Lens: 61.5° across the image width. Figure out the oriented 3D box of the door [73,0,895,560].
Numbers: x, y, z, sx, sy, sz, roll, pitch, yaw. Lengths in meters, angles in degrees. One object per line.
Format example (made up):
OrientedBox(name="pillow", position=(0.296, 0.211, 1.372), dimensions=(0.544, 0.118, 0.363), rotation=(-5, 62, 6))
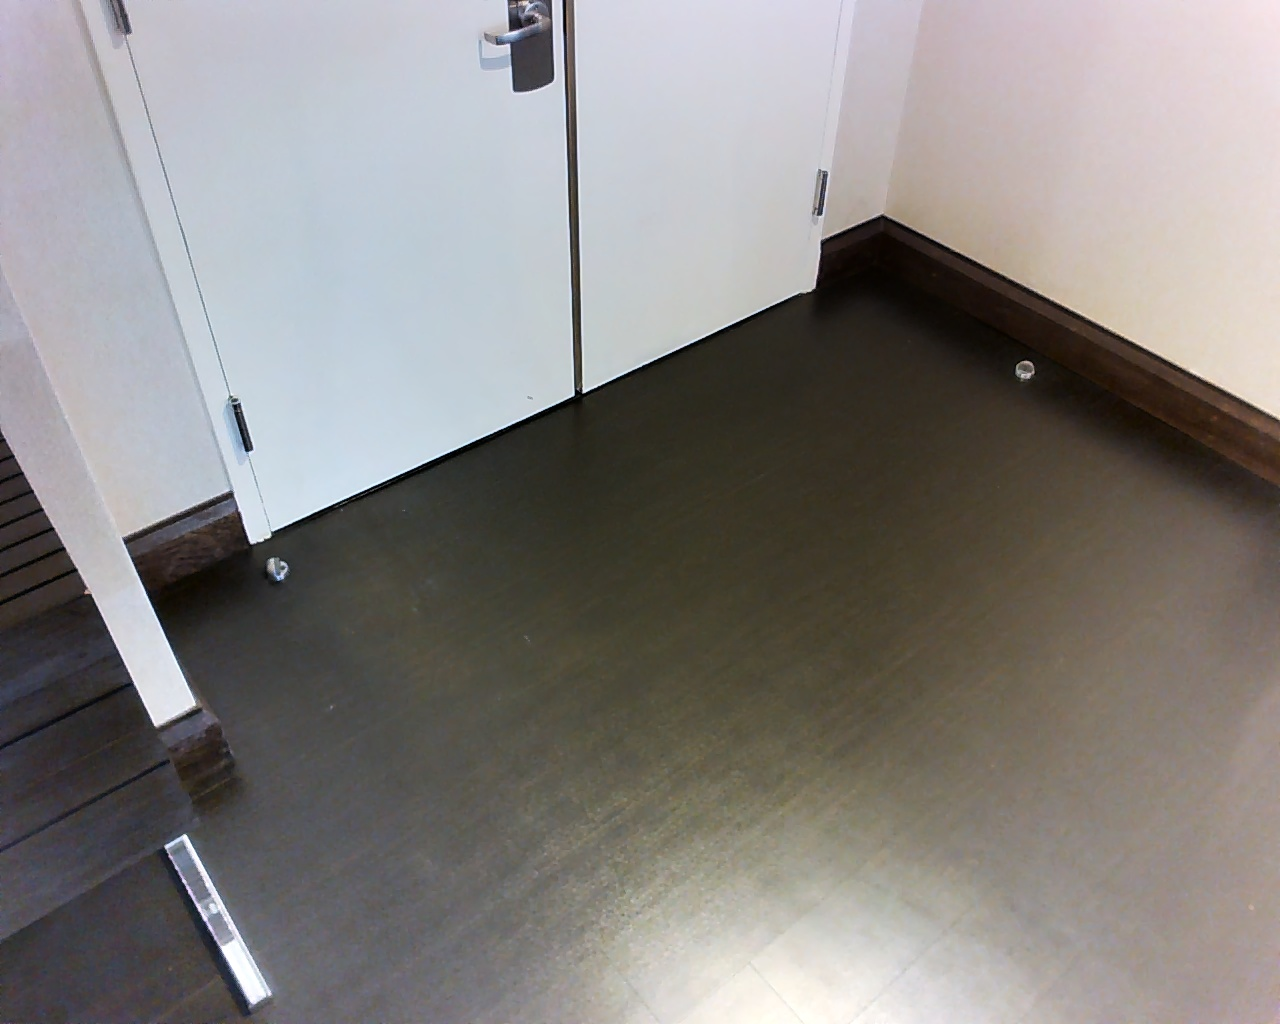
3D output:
OrientedBox(name="door", position=(-0.110, -1.040, 1.850), dimensions=(1.660, 2.100, 0.100), rotation=(-28, 50, -27))
